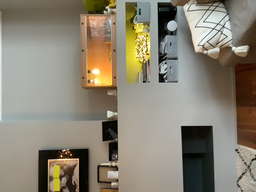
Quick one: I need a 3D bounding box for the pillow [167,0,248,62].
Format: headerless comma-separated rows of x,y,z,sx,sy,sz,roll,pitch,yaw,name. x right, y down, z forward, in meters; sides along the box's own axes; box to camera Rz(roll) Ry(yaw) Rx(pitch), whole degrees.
0.710,-0.660,1.950,0.560,0.400,0.160,46,178,10,pillow
